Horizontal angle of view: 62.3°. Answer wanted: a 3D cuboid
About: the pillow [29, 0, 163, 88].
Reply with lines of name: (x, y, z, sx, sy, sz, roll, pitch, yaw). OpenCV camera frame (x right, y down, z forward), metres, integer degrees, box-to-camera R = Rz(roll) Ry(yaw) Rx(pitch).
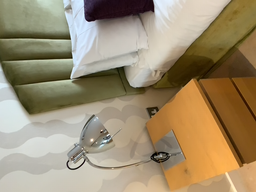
pillow: (-0.200, -0.450, 1.330, 0.650, 0.490, 0.270, 51, 135, 12)
